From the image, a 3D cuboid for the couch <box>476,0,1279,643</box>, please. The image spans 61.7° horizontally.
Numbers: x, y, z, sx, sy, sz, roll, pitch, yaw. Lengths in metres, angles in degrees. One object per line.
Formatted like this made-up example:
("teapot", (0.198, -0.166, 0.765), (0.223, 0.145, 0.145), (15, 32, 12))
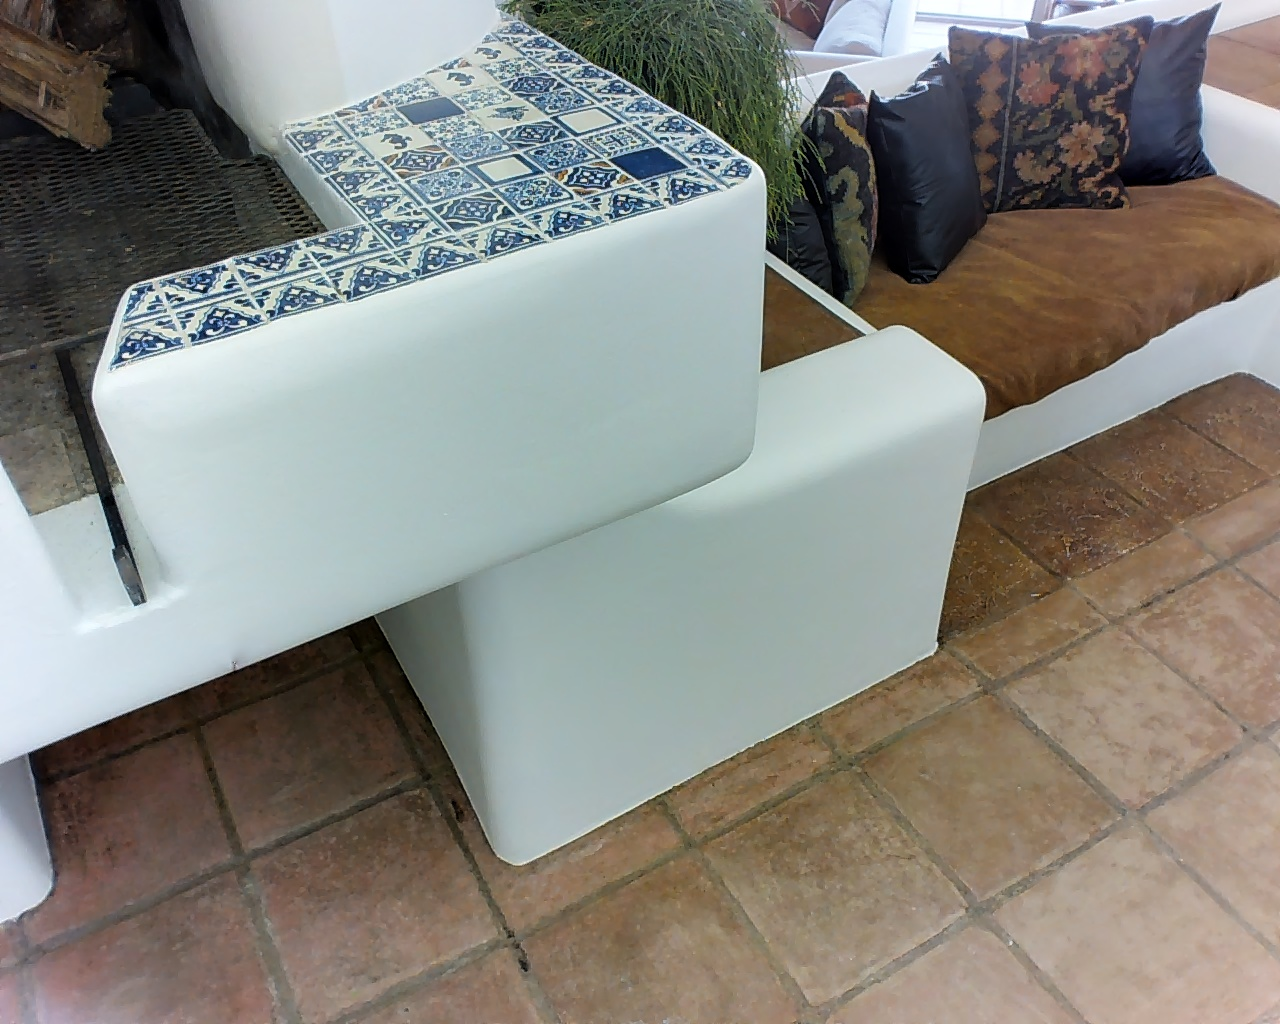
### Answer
("couch", (0.640, -0.560, 2.360), (1.670, 0.640, 0.970), (-21, 45, -22))
